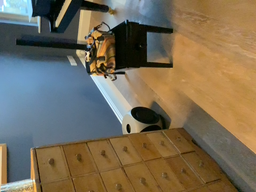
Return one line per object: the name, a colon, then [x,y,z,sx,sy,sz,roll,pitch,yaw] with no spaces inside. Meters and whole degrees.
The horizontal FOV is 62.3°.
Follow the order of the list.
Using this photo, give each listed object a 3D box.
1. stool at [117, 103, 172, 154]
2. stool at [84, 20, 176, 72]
stool: [0.130,0.270,1.850,0.290,0.320,0.300,52,135,48]
stool: [-0.040,-0.400,1.960,0.850,0.490,0.330,9,99,61]
